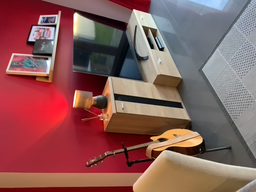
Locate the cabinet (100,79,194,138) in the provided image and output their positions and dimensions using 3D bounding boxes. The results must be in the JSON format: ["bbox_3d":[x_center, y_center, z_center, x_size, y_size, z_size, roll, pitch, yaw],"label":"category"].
[{"bbox_3d":[0.180,0.150,2.270,0.400,0.860,0.360,-102,29,-42],"label":"cabinet"}]

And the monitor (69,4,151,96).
[{"bbox_3d":[-0.300,-0.690,2.830,1.650,0.890,0.110,-102,29,-42],"label":"monitor"}]

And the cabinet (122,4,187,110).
[{"bbox_3d":[0.270,-0.650,3.040,1.740,0.340,0.500,-102,29,-42],"label":"cabinet"}]
